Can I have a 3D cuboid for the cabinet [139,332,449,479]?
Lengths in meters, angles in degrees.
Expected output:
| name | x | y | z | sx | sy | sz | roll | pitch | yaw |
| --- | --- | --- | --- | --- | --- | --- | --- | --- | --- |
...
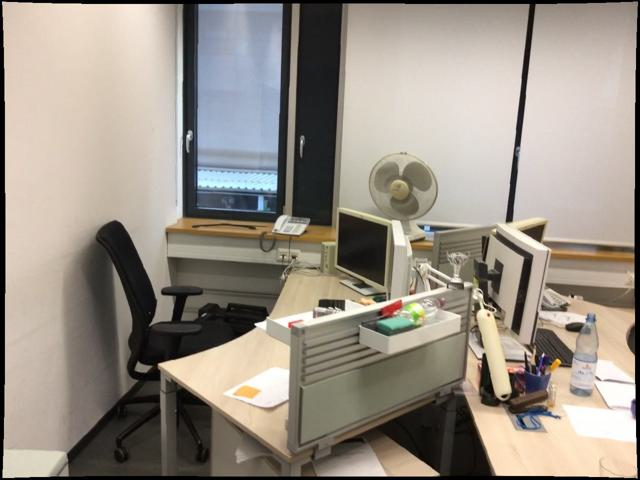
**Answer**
| name | x | y | z | sx | sy | sz | roll | pitch | yaw |
| --- | --- | --- | --- | --- | --- | --- | --- | --- | --- |
| cabinet | -0.130 | 0.851 | 2.130 | 0.730 | 0.631 | 0.860 | -8 | 17 | -39 |
